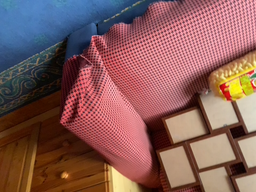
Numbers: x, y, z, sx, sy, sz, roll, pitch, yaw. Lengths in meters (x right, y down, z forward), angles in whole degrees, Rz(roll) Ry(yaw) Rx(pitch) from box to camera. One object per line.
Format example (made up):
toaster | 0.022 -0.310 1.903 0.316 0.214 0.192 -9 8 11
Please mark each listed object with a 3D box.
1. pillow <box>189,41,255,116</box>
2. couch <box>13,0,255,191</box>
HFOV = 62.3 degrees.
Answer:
pillow | 0.580 -0.140 0.810 0.640 0.110 0.190 -27 135 19
couch | 0.560 -0.030 0.990 1.490 0.810 1.070 -22 137 14
